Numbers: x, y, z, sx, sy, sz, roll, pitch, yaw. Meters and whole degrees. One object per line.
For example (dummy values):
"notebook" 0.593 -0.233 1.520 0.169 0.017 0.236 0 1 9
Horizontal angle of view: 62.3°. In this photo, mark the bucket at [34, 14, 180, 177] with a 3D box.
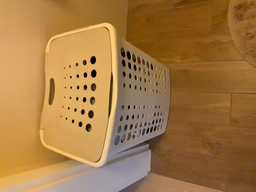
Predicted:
"bucket" -0.040 0.000 0.950 0.320 0.580 0.480 6 90 32
